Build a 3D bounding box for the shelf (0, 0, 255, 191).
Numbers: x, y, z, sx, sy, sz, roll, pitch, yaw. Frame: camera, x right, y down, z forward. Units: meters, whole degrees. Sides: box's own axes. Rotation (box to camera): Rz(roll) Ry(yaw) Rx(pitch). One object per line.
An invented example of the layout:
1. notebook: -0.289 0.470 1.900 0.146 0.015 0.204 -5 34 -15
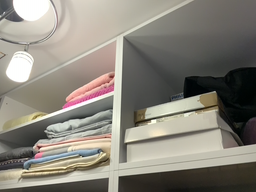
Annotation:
1. shelf: -0.240 0.240 1.230 2.780 0.570 0.670 -18 -35 29
